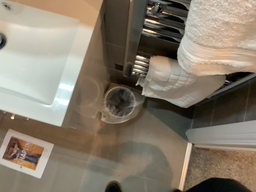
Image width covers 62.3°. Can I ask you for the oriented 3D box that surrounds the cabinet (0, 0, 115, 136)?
[{"bbox_3d":[-0.420,-0.090,0.980,0.630,0.800,0.360,18,78,1],"label":"cabinet"}]

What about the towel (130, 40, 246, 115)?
[{"bbox_3d":[0.200,-0.040,0.930,0.330,0.510,0.120,12,78,0],"label":"towel"}]
